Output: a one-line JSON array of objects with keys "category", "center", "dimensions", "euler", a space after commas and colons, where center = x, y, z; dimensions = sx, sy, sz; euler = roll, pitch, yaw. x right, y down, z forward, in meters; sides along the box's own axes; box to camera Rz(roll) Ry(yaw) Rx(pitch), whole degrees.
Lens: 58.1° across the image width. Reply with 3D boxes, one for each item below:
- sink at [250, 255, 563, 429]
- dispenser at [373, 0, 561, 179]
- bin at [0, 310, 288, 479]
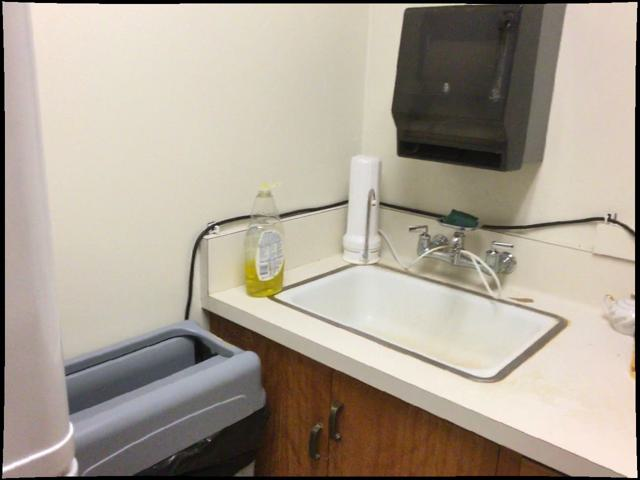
[{"category": "sink", "center": [0.229, 0.231, 1.640], "dimensions": [0.719, 0.120, 0.499], "euler": [16, 21, 39]}, {"category": "dispenser", "center": [0.359, -0.381, 1.450], "dimensions": [0.340, 0.381, 0.260], "euler": [16, 21, 39]}, {"category": "bin", "center": [-0.409, 0.702, 1.330], "dimensions": [0.320, 0.892, 0.599], "euler": [16, 21, 39]}]
